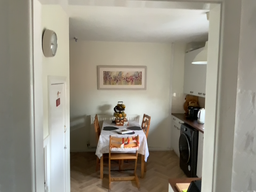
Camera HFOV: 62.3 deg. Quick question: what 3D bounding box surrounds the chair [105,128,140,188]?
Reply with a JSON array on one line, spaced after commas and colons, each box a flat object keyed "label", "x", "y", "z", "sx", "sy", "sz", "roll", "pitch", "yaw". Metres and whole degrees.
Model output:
[{"label": "chair", "x": -0.110, "y": 0.970, "z": 3.420, "sx": 0.500, "sy": 0.780, "sz": 0.530, "roll": 1, "pitch": 5, "yaw": -5}]

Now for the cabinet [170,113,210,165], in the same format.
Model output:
[{"label": "cabinet", "x": 1.260, "y": 0.860, "z": 4.460, "sx": 0.530, "sy": 0.880, "sz": 0.790, "roll": 1, "pitch": 5, "yaw": -5}]

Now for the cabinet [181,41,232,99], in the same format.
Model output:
[{"label": "cabinet", "x": 1.420, "y": -0.470, "z": 4.060, "sx": 0.320, "sy": 0.900, "sz": 1.390, "roll": 1, "pitch": 5, "yaw": -5}]
